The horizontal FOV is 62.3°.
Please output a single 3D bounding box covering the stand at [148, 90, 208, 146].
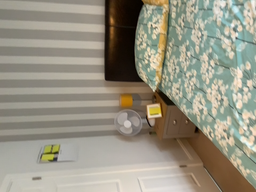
[{"bbox_3d":[0.570,0.240,2.570,0.480,0.490,0.490,-116,28,-64],"label":"stand"}]
